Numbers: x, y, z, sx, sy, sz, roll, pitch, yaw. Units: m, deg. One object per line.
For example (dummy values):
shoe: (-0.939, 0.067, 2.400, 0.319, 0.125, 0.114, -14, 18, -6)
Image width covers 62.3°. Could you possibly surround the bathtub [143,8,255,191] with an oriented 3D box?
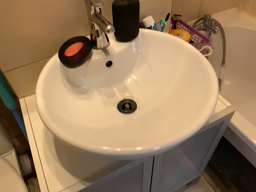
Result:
bathtub: (0.710, 0.200, 1.020, 0.670, 0.560, 1.370, -22, 50, -17)
